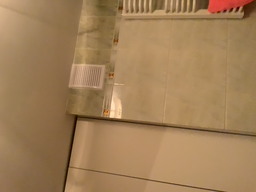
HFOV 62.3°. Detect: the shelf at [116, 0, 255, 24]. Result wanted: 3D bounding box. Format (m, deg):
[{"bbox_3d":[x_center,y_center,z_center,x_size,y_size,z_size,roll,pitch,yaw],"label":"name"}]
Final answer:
[{"bbox_3d":[0.430,-0.710,1.420,0.140,0.960,0.410,56,-140,-71],"label":"shelf"}]
